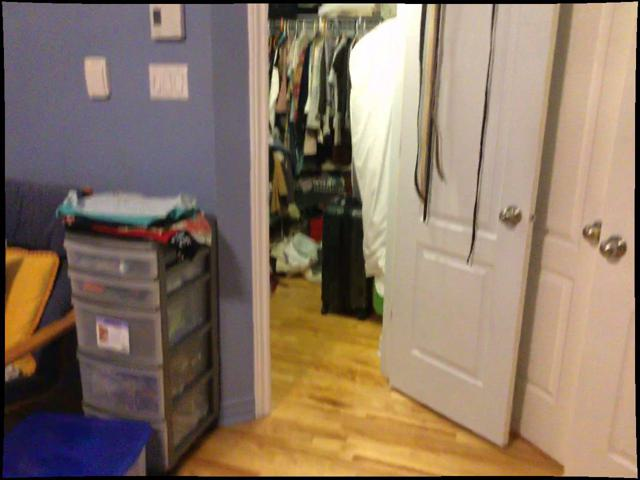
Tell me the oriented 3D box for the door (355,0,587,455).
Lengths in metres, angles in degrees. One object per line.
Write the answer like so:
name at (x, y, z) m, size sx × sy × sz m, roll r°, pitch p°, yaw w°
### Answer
door at (0.539, -0.270, 2.150) m, size 0.679 × 2.022 × 0.440 m, roll 7°, pitch 18°, yaw 21°

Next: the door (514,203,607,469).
door at (0.839, 0.340, 2.050) m, size 0.190 × 0.901 × 0.220 m, roll 7°, pitch 18°, yaw 21°
